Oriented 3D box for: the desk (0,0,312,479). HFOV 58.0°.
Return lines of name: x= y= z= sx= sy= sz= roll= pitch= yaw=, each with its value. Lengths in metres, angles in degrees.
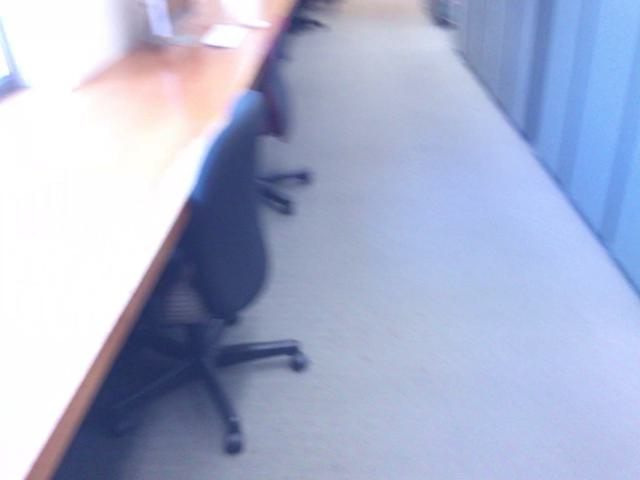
desk: x=-0.630 y=-0.260 z=1.890 sx=0.850 sy=0.770 sz=6.520 roll=0 pitch=28 yaw=2
